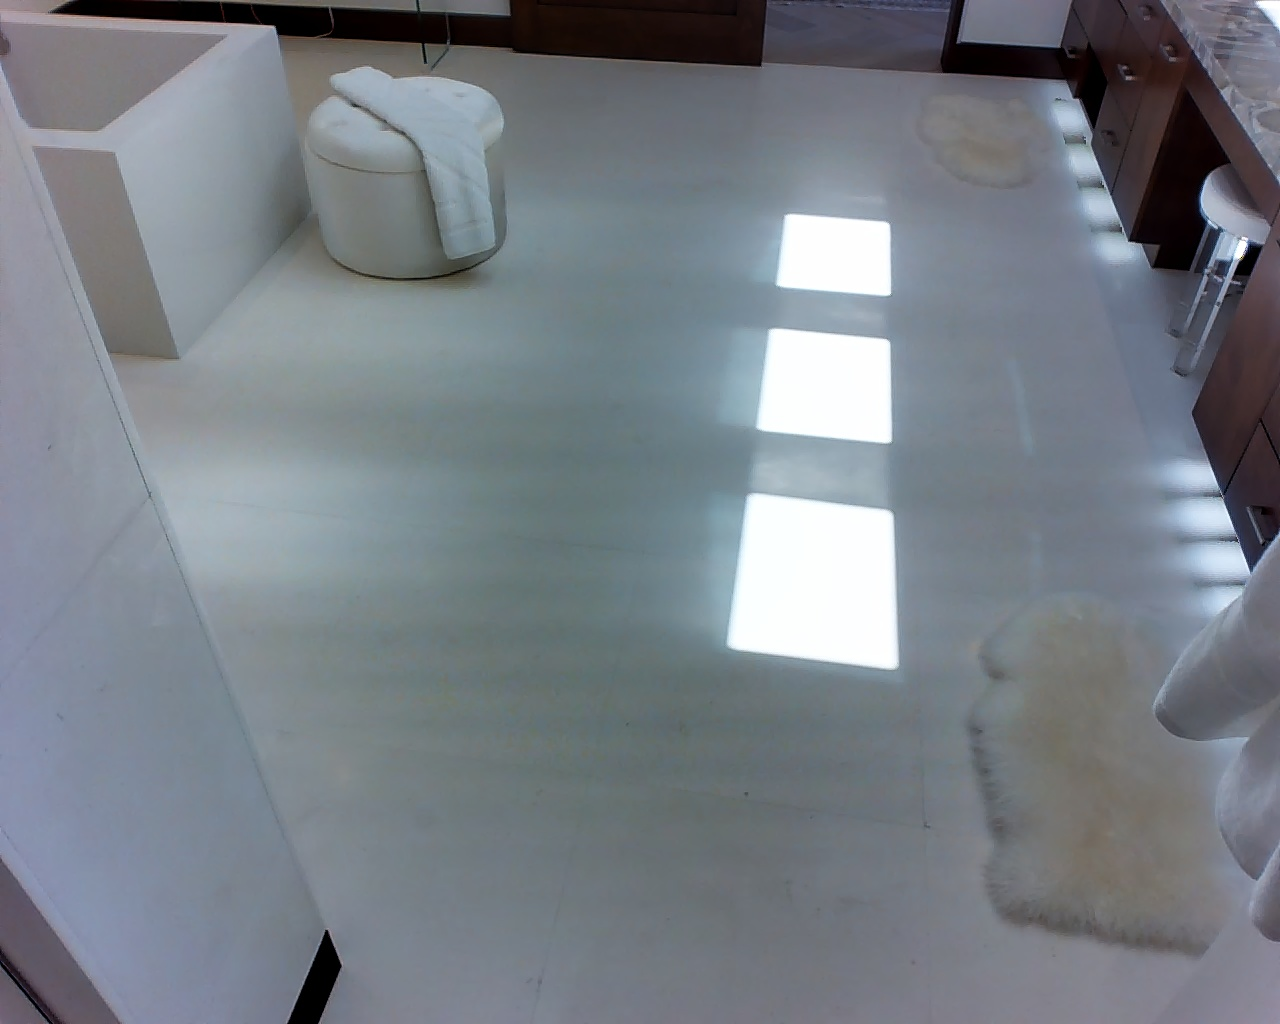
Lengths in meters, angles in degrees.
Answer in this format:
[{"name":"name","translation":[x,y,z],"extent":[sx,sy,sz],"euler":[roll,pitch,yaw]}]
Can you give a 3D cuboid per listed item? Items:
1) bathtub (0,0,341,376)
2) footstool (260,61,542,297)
[{"name":"bathtub","translation":[-2.070,-1.080,3.260],"extent":[1.890,0.690,1.070],"euler":[6,42,7]},{"name":"footstool","translation":[-0.720,-1.080,3.430],"extent":[0.660,0.470,0.630],"euler":[6,42,7]}]
